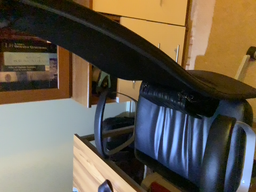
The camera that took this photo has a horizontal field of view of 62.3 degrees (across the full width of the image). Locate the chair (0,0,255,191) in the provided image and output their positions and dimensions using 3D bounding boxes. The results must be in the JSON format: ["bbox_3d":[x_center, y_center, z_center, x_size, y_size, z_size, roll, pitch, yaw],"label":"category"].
[{"bbox_3d":[0.060,0.070,0.830,0.660,1.270,0.700,18,110,51],"label":"chair"}]
